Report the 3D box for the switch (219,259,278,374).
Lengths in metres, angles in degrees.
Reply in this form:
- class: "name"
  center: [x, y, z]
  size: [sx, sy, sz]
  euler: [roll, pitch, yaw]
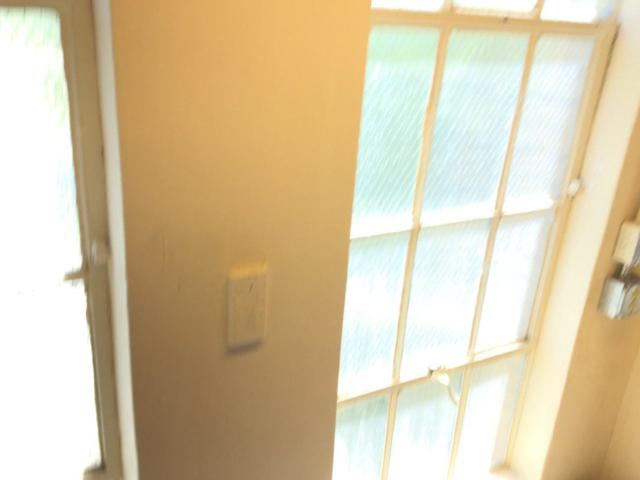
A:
- class: "switch"
  center: [-0.130, 0.140, 1.060]
  size: [0.100, 0.200, 0.030]
  euler: [-9, 23, -27]
